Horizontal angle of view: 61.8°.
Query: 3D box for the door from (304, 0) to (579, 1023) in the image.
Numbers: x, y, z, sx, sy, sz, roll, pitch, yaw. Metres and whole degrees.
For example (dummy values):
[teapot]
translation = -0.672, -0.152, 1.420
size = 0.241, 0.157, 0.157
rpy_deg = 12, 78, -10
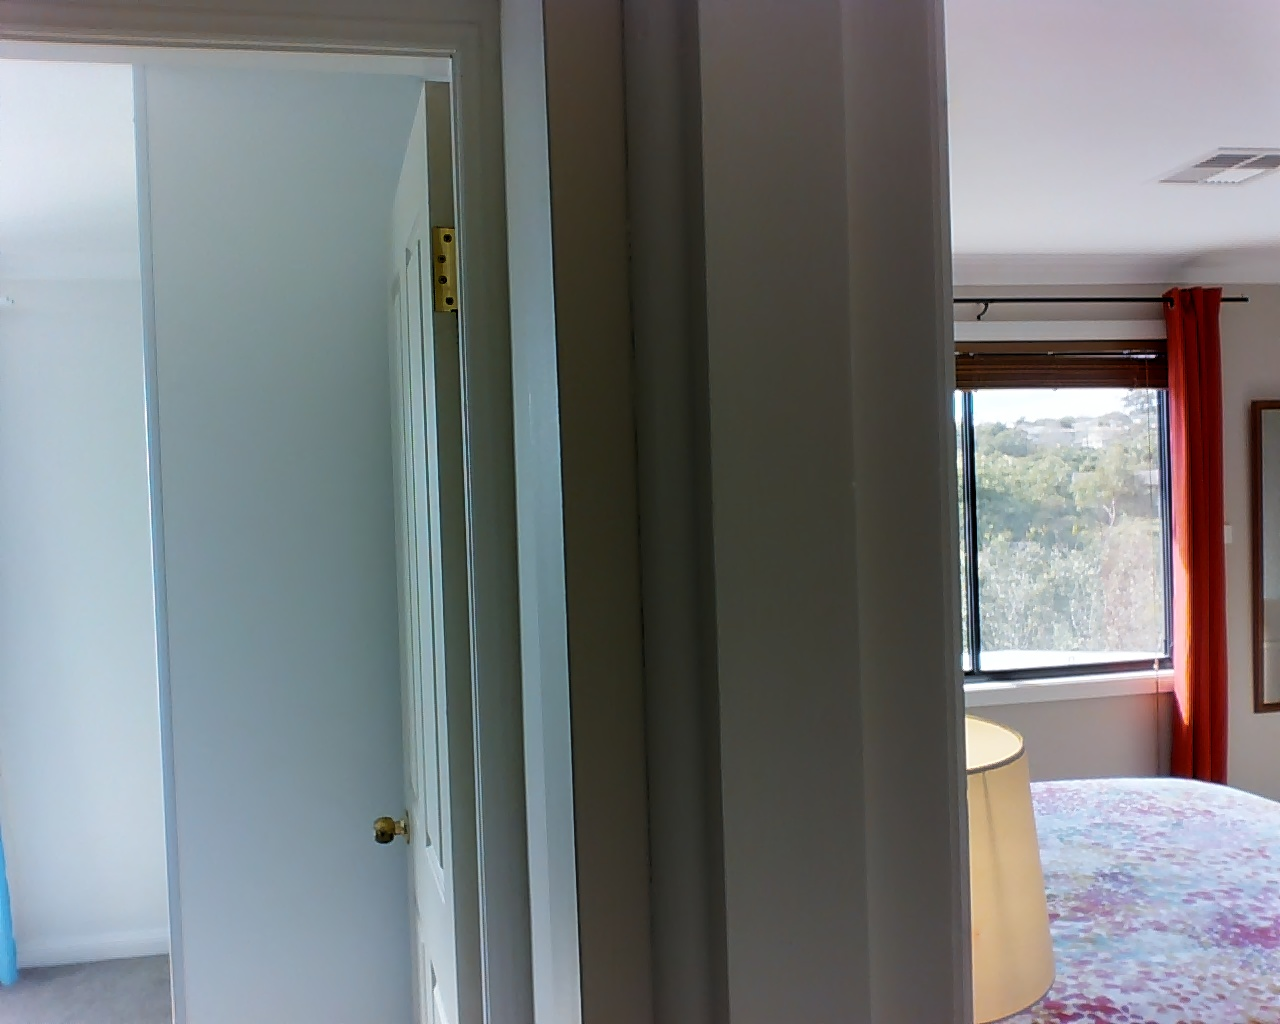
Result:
[door]
translation = -0.350, 0.420, 1.700
size = 0.250, 2.151, 0.960
rpy_deg = -2, 1, -18
